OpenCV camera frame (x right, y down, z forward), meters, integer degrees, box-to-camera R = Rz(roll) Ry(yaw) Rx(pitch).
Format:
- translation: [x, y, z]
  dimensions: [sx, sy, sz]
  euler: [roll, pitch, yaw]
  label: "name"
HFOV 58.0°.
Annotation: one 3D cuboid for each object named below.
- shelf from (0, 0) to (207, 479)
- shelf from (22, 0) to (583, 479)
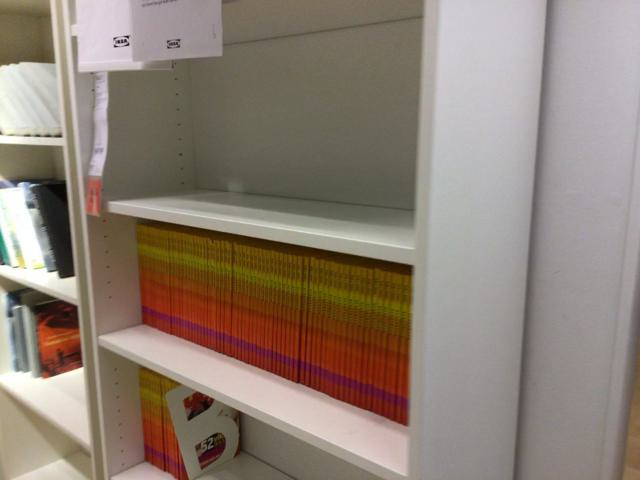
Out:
- translation: [-0.660, 0.240, 1.580]
  dimensions: [0.660, 1.820, 0.270]
  euler: [11, 19, 40]
  label: "shelf"
- translation: [-0.090, 0.260, 1.050]
  dimensions: [0.860, 2.020, 0.360]
  euler: [11, 17, 40]
  label: "shelf"
